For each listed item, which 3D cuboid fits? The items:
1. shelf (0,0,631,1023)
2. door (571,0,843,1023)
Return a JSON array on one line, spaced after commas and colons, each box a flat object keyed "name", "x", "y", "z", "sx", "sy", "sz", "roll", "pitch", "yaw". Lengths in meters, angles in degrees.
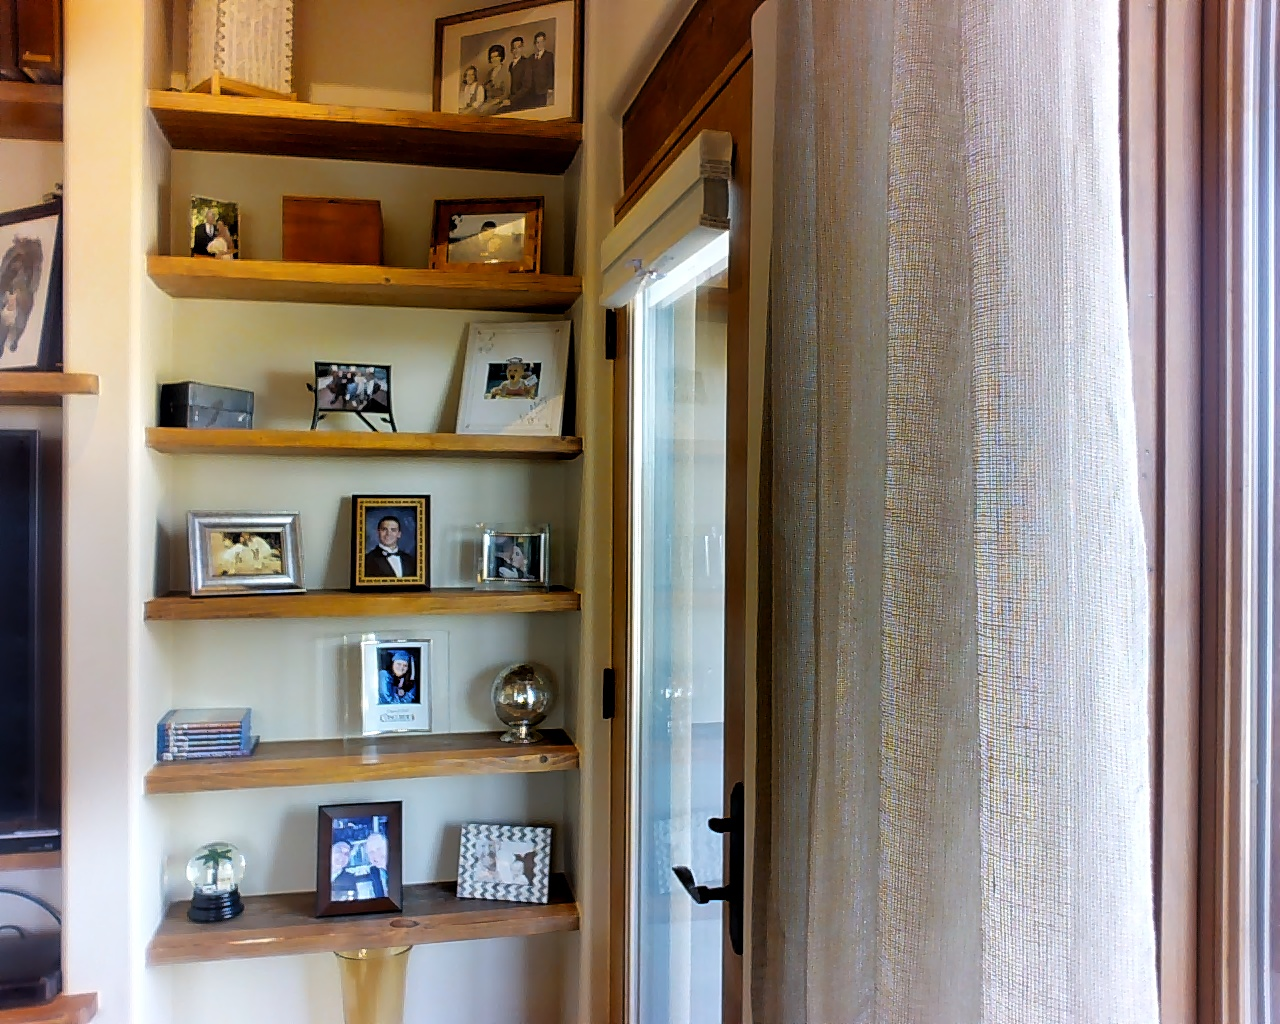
[{"name": "shelf", "x": -1.390, "y": -0.080, "z": 1.940, "sx": 2.769, "sy": 2.991, "sz": 0.230, "roll": 0, "pitch": 0, "yaw": -14}, {"name": "door", "x": 0.050, "y": 0.290, "z": 1.760, "sx": 0.150, "sy": 2.241, "sz": 1.010, "roll": 0, "pitch": 0, "yaw": -14}]
